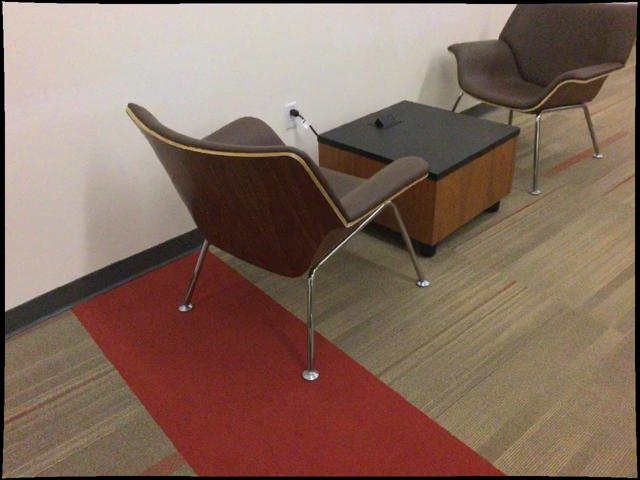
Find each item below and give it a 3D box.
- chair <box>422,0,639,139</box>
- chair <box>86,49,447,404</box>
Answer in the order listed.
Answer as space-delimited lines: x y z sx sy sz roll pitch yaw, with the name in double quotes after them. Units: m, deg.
1.127 -0.993 3.020 0.739 0.501 0.879 -29 40 -32 "chair"
-0.150 -0.130 2.010 0.849 0.761 0.760 24 42 36 "chair"
